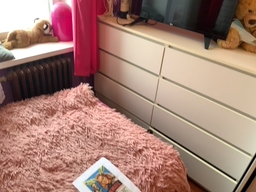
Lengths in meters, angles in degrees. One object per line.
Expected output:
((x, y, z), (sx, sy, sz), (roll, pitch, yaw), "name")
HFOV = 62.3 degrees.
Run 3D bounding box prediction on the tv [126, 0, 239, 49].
((0.300, -0.640, 1.340), (0.750, 0.470, 0.060), (30, 40, 33), "tv")
